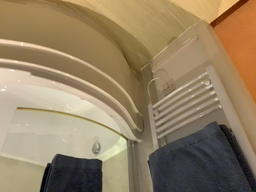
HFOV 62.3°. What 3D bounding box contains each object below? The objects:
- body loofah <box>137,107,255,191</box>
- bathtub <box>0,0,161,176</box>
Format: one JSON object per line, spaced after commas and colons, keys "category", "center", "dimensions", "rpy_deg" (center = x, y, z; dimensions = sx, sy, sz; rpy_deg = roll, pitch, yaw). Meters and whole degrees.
{"category": "body loofah", "center": [0.260, 0.360, 0.820], "dimensions": [0.470, 0.480, 0.090], "rpy_deg": [-34, 133, 31]}
{"category": "bathtub", "center": [-0.740, -0.150, 1.180], "dimensions": [1.660, 0.600, 0.910], "rpy_deg": [29, 130, -35]}
